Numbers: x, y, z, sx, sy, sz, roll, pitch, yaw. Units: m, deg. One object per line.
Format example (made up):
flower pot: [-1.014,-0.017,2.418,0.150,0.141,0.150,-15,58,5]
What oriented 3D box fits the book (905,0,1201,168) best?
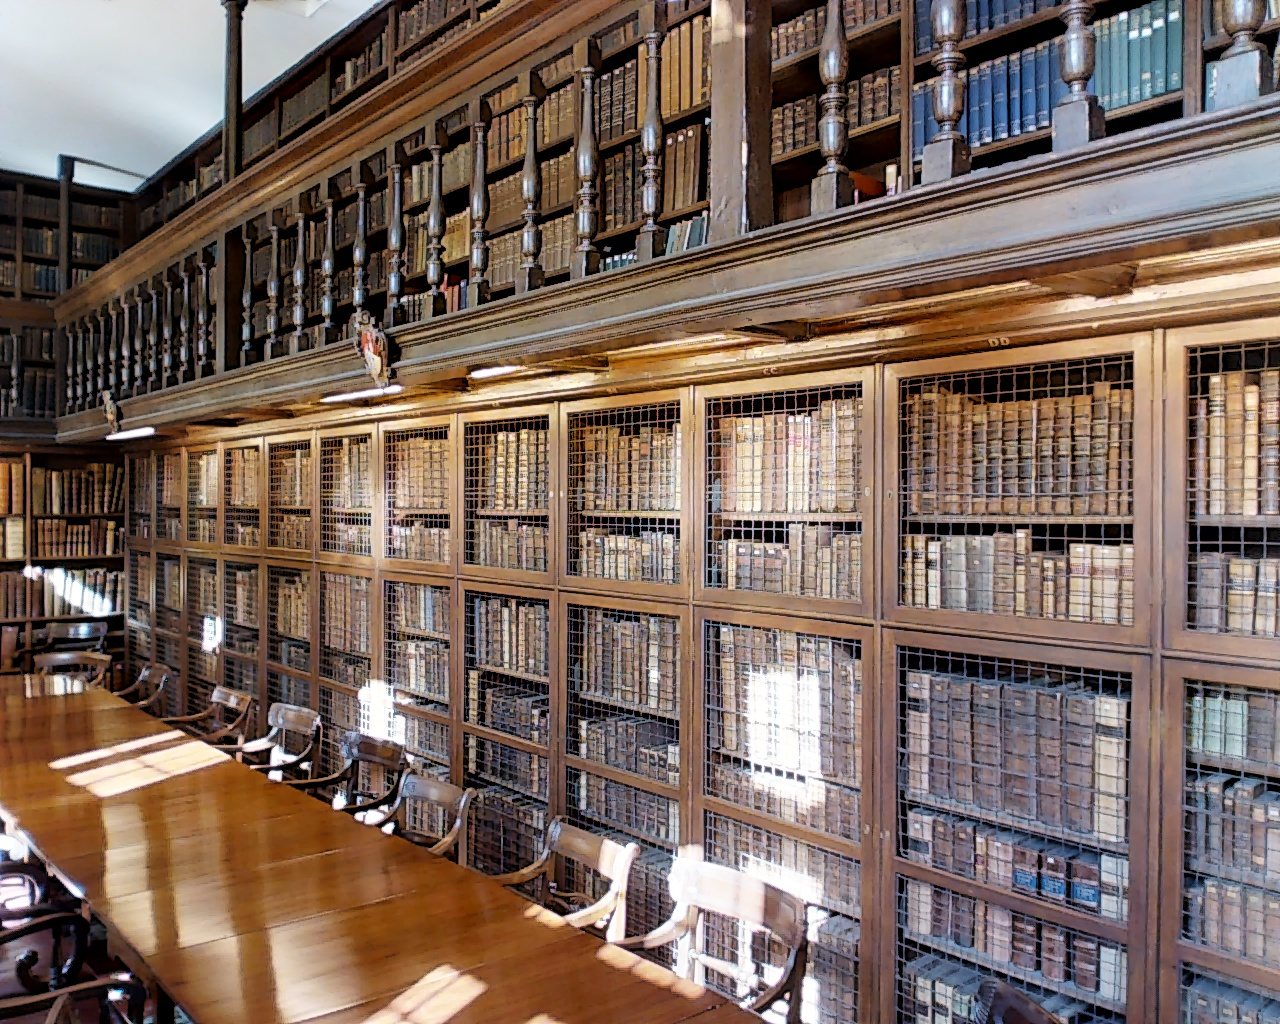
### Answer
book: [1.080,-1.150,2.890,0.150,0.240,0.760,0,0,-41]

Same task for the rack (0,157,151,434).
rack: [-5.648,-1.740,8.250,3.399,2.091,0.560,0,0,-41]

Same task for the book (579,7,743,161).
book: [0.060,-1.630,4.150,0.130,0.320,0.820,0,0,-40]
